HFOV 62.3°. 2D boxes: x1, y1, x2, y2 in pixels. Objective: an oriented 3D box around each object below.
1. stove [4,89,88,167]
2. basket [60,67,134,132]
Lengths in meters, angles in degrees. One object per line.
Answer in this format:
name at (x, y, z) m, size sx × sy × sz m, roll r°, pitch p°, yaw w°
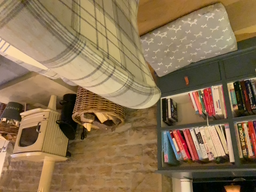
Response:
stove at (-1.080, 0.480, 2.900) m, size 0.700 × 0.840 × 0.630 m, roll -13°, pitch 151°, yaw 31°
basket at (-0.330, 0.080, 2.470) m, size 0.580 × 0.490 × 0.580 m, roll -11°, pitch 152°, yaw 27°
